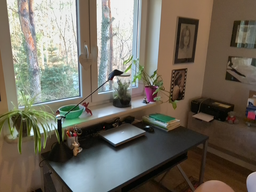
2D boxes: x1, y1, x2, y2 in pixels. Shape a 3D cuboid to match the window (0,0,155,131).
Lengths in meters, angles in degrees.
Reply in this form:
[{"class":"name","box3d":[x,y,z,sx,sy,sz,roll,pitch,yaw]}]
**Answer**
[{"class":"window","box3d":[-0.350,-0.450,1.870,1.430,1.200,0.170,-11,21,-39]}]
